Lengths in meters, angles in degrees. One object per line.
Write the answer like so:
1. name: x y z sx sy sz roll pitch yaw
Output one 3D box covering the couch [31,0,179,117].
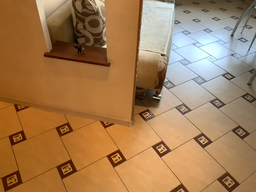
1. couch: 0.010 -0.860 2.360 0.970 0.830 1.990 10 43 7
